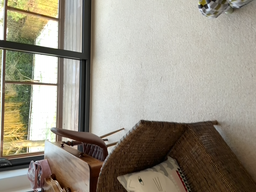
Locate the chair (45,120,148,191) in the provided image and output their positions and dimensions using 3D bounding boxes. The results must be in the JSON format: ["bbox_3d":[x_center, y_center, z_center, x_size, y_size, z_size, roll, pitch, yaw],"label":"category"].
[{"bbox_3d":[-0.280,0.490,1.970,0.420,0.830,0.490,-10,81,52],"label":"chair"}]
